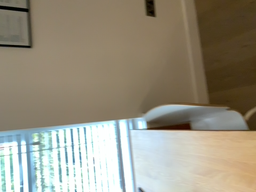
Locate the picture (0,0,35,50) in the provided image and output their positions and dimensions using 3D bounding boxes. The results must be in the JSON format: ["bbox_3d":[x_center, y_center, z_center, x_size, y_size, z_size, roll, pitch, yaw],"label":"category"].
[{"bbox_3d":[-0.700,-0.490,1.160,0.020,0.330,0.460,-14,80,62],"label":"picture"}]

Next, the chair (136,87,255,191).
[{"bbox_3d":[0.530,0.210,1.270,0.440,0.800,0.430,-24,71,61],"label":"chair"}]
